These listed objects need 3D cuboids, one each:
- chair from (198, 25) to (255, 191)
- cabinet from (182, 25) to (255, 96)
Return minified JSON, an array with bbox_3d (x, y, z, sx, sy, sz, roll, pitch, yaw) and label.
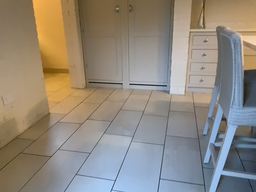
[{"bbox_3d":[0.750,0.110,1.310,0.490,1.020,0.390,4,21,13],"label":"chair"},{"bbox_3d":[1.470,-0.570,3.210,1.210,0.910,0.680,4,21,13],"label":"cabinet"}]
